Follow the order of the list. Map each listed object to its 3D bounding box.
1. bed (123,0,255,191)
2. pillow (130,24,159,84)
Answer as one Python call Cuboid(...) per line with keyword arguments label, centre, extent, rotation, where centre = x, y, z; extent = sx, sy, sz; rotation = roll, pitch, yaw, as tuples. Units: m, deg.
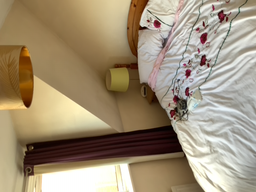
Cuboid(label="bed", centre=(0.700, -0.300, 1.980), extent=(2.190, 0.910, 1.490), rotation=(-108, 22, -46))
Cuboid(label="pillow", centre=(0.190, -0.530, 2.700), extent=(0.490, 0.130, 0.570), rotation=(-107, 21, -45))
